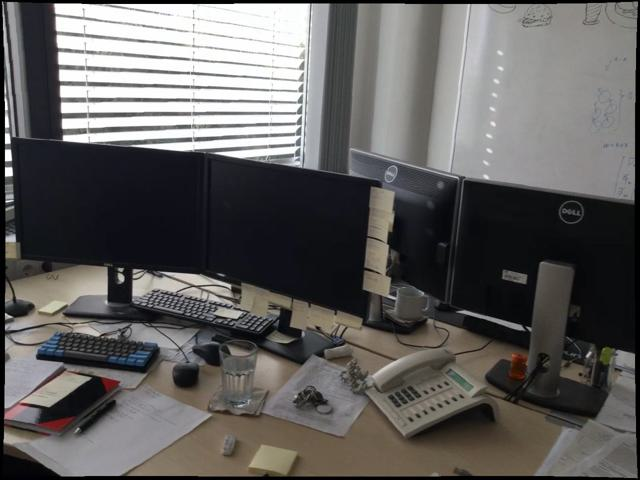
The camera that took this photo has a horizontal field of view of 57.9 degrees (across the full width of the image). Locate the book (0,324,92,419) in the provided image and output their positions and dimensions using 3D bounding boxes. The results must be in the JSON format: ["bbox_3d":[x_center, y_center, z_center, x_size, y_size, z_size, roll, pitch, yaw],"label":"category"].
[{"bbox_3d":[-0.789,0.300,1.360,0.340,0.030,0.330,9,18,16],"label":"book"}]

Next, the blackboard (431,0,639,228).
[{"bbox_3d":[1.508,-0.641,2.600,2.009,1.171,0.110,16,21,33],"label":"blackboard"}]
